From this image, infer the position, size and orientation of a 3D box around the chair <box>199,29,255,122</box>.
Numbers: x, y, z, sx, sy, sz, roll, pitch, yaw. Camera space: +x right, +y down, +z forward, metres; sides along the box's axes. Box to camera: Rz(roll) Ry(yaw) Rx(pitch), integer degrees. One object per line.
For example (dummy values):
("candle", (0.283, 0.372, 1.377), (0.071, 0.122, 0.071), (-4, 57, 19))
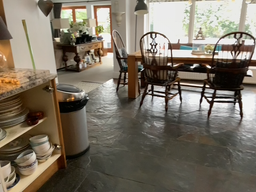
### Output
("chair", (1.340, -0.320, 2.940), (0.520, 1.150, 0.600), (4, 20, 13))

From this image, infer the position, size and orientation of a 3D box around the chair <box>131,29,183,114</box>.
("chair", (0.440, -0.420, 3.280), (0.560, 1.140, 0.640), (10, 22, 26))

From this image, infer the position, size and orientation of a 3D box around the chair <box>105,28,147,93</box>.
("chair", (-0.010, -0.710, 4.090), (0.620, 1.140, 0.570), (5, 20, 18))

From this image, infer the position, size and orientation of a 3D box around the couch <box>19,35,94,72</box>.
("couch", (-2.100, -1.420, 6.660), (1.130, 0.820, 2.040), (7, 21, 20))
